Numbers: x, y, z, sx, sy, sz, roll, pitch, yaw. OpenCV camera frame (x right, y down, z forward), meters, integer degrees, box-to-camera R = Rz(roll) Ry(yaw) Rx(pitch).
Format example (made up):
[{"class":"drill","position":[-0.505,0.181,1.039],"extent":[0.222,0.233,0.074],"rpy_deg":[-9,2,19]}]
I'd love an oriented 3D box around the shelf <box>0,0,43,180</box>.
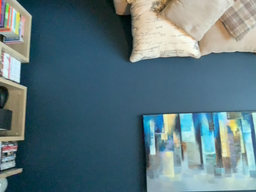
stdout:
[{"class":"shelf","position":[-1.030,-0.320,1.520],"extent":[0.340,1.770,0.950],"rpy_deg":[-2,171,5]}]
